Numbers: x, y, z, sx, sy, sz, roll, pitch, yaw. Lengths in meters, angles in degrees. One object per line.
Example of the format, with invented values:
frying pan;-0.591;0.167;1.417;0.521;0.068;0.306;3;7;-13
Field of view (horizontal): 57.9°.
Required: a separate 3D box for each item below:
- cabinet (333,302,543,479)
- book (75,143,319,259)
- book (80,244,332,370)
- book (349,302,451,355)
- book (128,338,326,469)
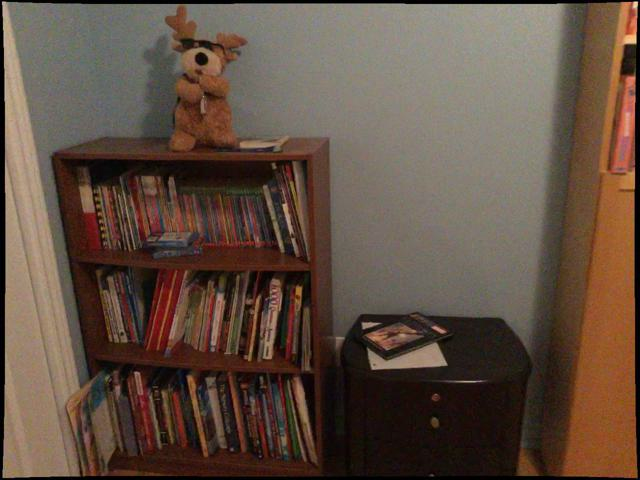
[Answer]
cabinet;0.350;0.521;1.820;0.549;0.500;0.410;1;20;9
book;-0.360;-0.130;1.800;0.669;0.290;0.250;1;20;9
book;-0.340;0.200;1.830;0.719;0.300;0.230;1;20;9
book;0.250;0.270;1.800;0.260;0.020;0.180;-15;23;-30
book;-0.290;0.531;1.920;0.579;0.310;0.230;1;20;9
